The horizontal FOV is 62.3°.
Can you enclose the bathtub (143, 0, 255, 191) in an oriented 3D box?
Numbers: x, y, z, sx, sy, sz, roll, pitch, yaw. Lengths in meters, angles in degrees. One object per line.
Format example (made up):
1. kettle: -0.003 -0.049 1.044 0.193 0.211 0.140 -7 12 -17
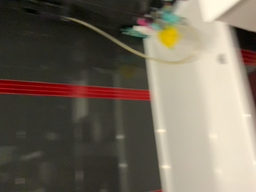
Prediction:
1. bathtub: 0.590 0.170 1.320 0.680 0.580 1.460 -32 59 58
